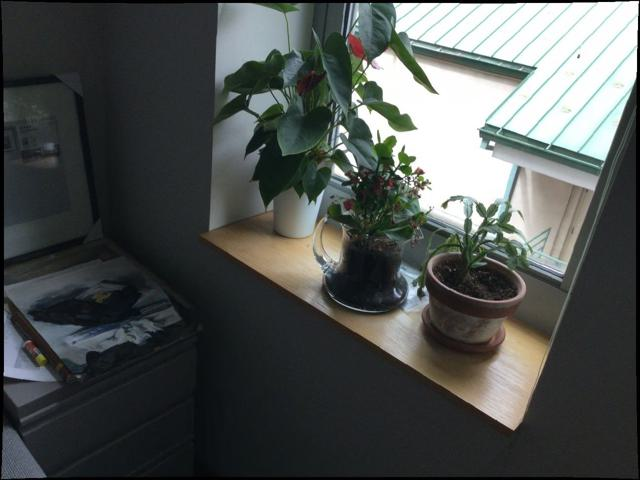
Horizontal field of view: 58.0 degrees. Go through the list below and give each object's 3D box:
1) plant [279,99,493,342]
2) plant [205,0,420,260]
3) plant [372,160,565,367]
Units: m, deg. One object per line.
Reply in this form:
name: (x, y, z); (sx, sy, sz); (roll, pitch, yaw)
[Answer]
plant: (0.120, -0.050, 1.090); (0.250, 0.341, 0.230); (26, 29, 21)
plant: (-0.030, -0.261, 1.260); (0.300, 0.481, 0.230); (26, 29, 21)
plant: (0.269, 0.030, 1.050); (0.220, 0.250, 0.220); (26, 29, 21)
